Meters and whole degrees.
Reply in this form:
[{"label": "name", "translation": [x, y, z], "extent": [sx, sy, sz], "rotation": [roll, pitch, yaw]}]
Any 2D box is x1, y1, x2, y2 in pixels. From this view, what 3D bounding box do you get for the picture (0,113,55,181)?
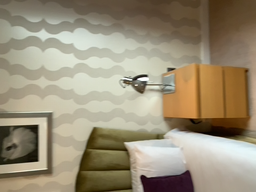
[{"label": "picture", "translation": [-0.800, 0.370, 1.570], "extent": [0.040, 0.480, 0.480], "rotation": [-178, 89, -71]}]
